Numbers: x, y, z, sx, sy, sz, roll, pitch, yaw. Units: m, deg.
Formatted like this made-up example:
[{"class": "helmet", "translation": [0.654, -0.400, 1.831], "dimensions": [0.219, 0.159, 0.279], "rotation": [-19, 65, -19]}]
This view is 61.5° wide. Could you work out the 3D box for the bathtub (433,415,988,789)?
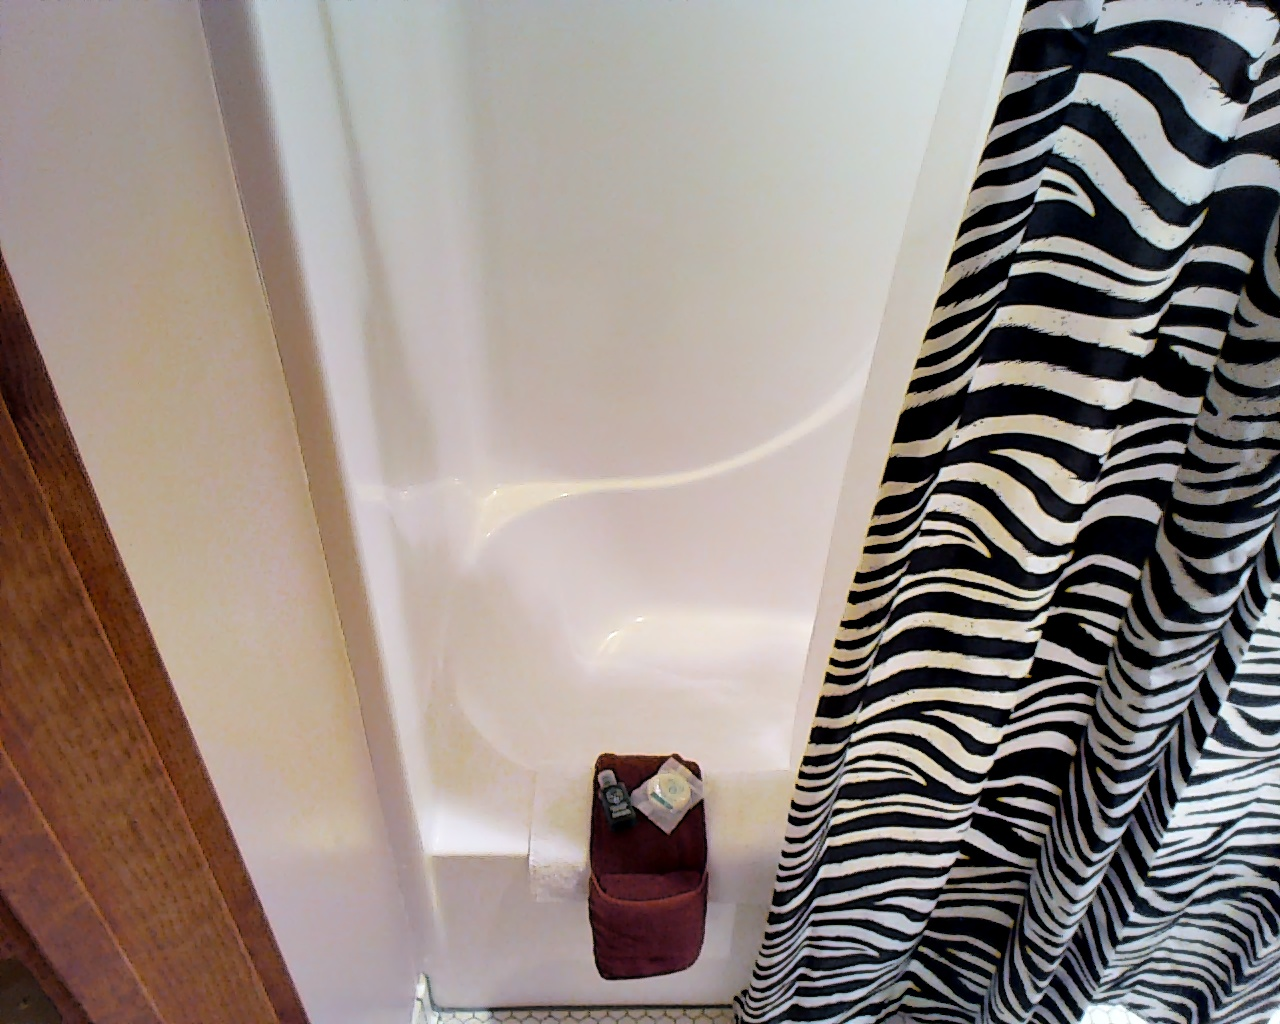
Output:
[{"class": "bathtub", "translation": [0.090, 0.150, 1.770], "dimensions": [0.760, 0.490, 0.370], "rotation": [0, 40, -2]}]
